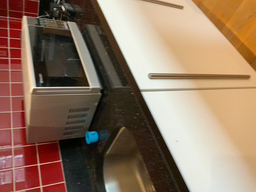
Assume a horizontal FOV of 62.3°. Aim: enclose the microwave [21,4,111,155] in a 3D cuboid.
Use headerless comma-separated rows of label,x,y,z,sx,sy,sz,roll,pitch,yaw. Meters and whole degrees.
microwave,-0.330,-0.070,0.970,0.420,0.260,0.490,-61,42,43
